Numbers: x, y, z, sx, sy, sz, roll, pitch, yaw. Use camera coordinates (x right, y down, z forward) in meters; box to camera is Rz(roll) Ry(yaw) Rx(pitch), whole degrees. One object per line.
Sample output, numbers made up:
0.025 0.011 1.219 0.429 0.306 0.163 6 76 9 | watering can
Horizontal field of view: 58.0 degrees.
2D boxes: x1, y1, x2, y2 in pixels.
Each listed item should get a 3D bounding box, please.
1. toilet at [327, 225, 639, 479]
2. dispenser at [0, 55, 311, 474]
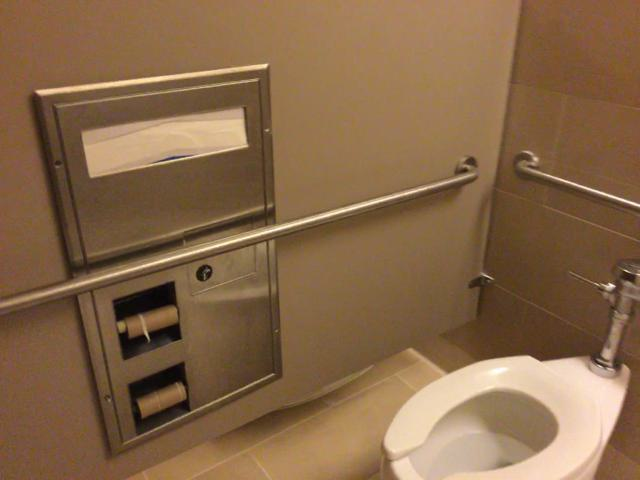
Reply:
0.440 0.450 1.320 0.740 0.730 0.390 -17 29 -29 | toilet
-0.280 0.050 1.220 0.520 0.790 0.110 -17 29 -29 | dispenser
